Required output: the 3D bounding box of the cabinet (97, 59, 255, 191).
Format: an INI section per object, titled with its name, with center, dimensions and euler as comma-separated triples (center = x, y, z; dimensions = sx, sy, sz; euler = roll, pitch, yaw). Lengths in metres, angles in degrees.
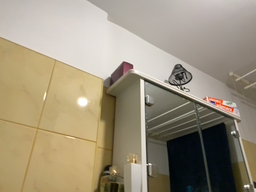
[cabinet]
center = 0.240, 0.210, 0.830
dimensions = 0.690, 0.450, 0.170
euler = 21, -37, -29
